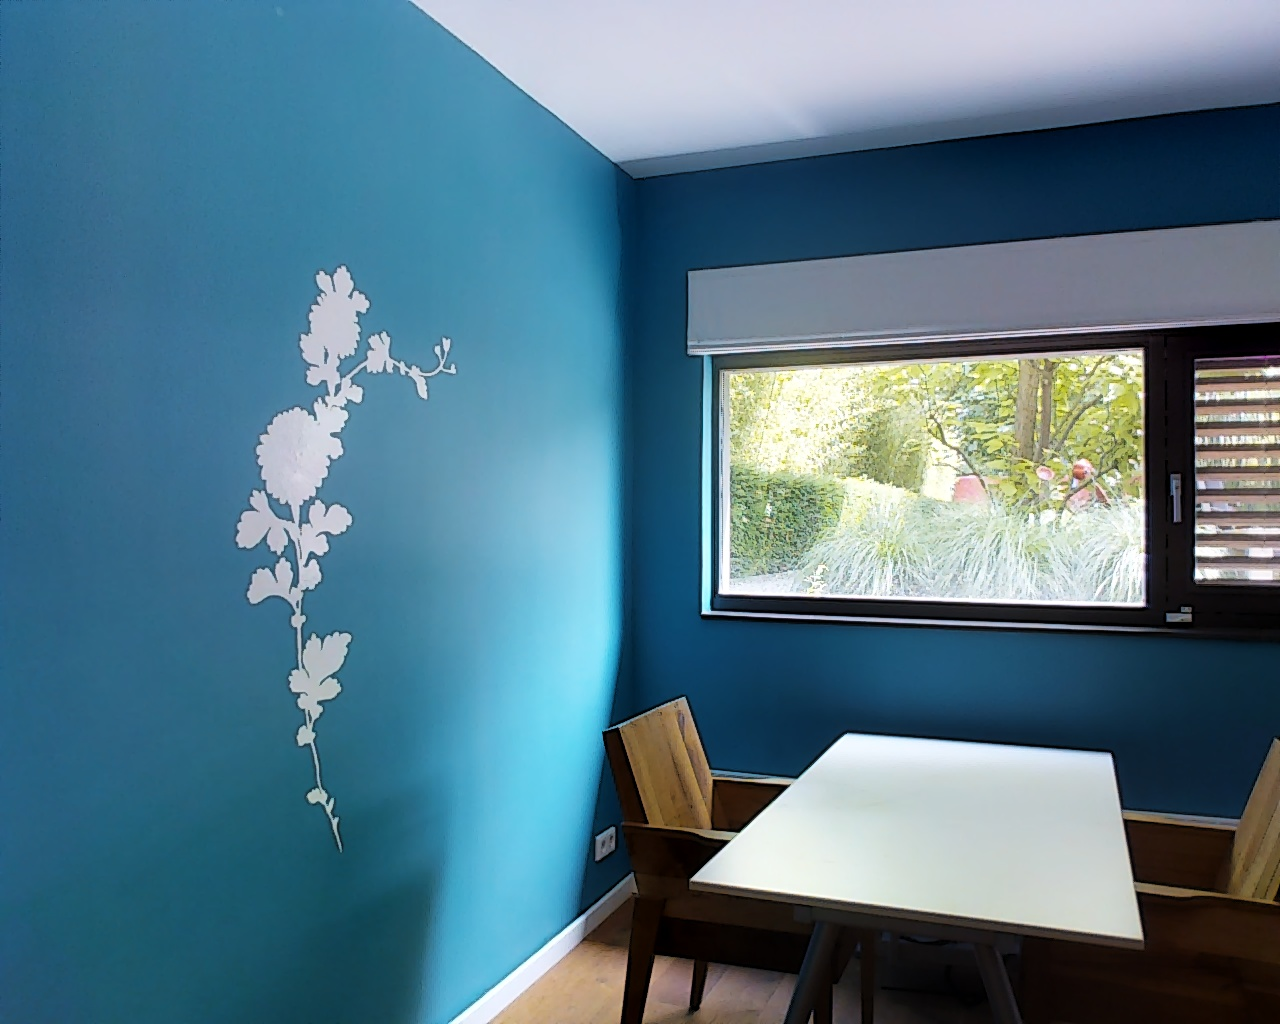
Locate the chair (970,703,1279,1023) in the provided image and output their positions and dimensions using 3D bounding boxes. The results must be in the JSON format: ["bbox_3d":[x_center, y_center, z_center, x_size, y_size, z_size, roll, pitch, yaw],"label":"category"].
[{"bbox_3d":[1.140,0.950,2.380,0.720,0.890,0.720,0,-1,22],"label":"chair"}]

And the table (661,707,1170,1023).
[{"bbox_3d":[0.780,1.040,2.730,0.870,0.740,1.820,0,-1,22],"label":"table"}]

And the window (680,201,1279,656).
[{"bbox_3d":[1.410,-0.250,3.580,2.590,1.360,0.310,0,-1,22],"label":"window"}]

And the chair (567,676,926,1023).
[{"bbox_3d":[0.310,0.950,2.770,0.730,0.910,0.770,0,-1,22],"label":"chair"}]
